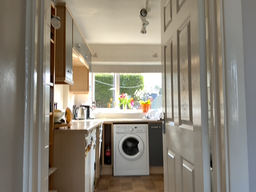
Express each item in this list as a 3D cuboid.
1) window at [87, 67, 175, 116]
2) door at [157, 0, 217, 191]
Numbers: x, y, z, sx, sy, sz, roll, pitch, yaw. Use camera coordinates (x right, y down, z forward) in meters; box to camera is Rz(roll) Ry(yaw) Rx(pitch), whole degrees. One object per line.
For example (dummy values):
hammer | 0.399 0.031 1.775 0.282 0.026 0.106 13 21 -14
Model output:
window | 0.060 -0.080 4.350 1.760 0.970 0.180 -1 -3 0
door | 0.320 0.150 1.340 0.060 2.000 0.800 0 -3 -5
